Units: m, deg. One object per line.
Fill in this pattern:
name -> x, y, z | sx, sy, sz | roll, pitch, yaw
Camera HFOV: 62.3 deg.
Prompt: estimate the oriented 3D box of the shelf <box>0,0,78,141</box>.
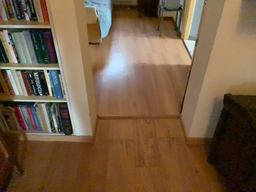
shelf -> -0.730, -0.460, 1.200 | 0.630, 1.960, 0.110 | 1, 37, 0
